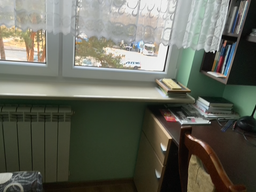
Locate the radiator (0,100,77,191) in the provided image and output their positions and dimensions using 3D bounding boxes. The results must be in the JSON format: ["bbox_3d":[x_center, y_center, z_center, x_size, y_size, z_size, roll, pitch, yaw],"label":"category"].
[{"bbox_3d":[-0.660,0.380,1.450,0.570,0.700,0.110,2,21,-15],"label":"radiator"}]

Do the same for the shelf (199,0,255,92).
[{"bbox_3d":[0.800,-0.660,1.310,0.270,1.240,0.310,2,21,-16],"label":"shelf"}]
